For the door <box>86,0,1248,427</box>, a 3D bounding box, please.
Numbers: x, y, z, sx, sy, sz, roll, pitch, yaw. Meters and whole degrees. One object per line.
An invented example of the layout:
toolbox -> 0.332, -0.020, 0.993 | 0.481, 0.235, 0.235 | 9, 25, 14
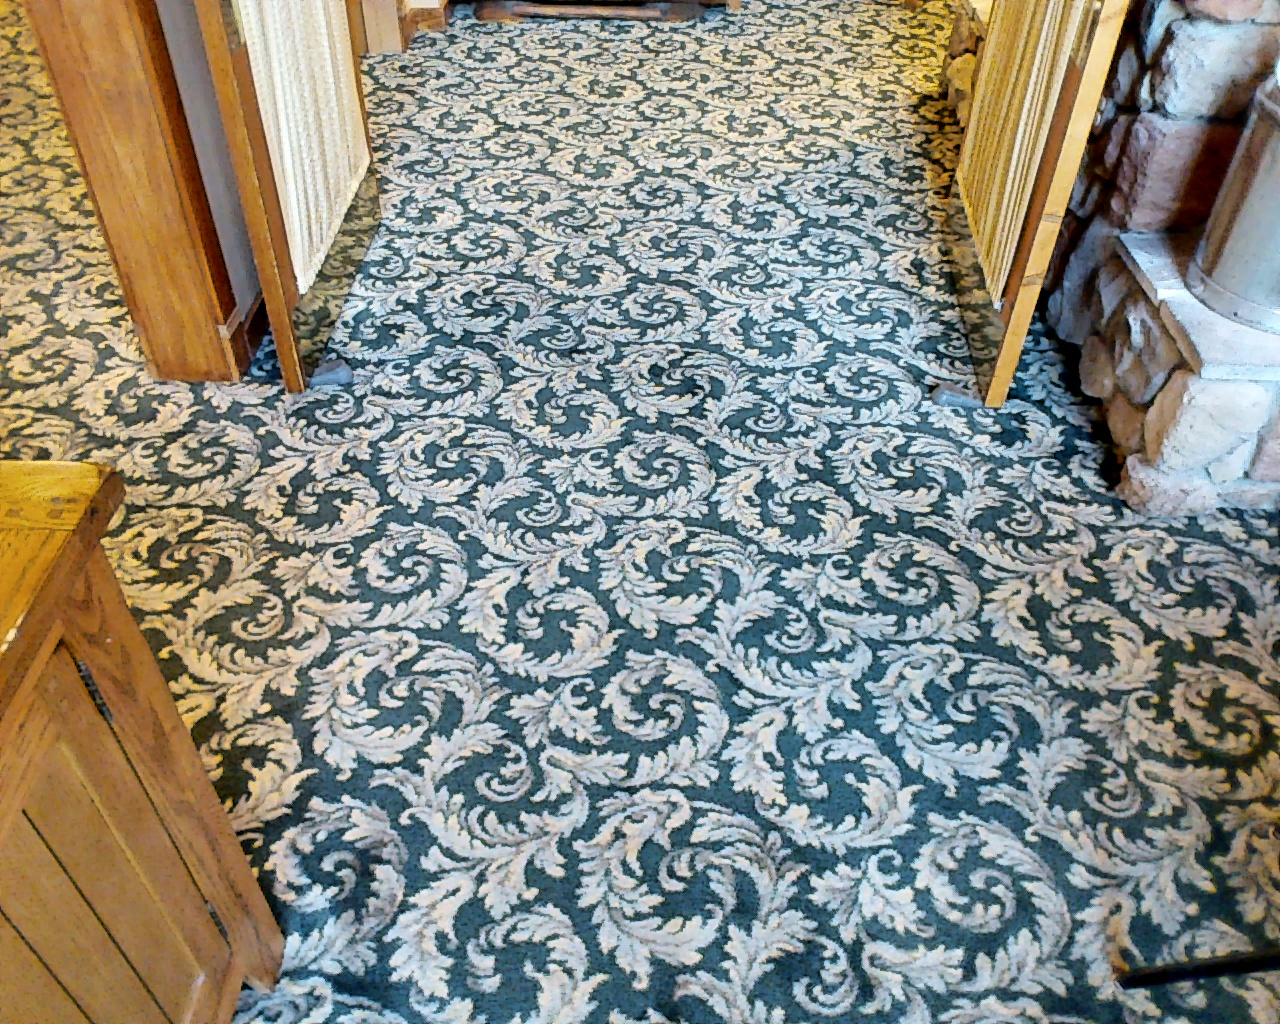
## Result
door -> 0.050, -1.340, 2.150 | 2.070, 2.190, 0.920 | 1, 42, 0
